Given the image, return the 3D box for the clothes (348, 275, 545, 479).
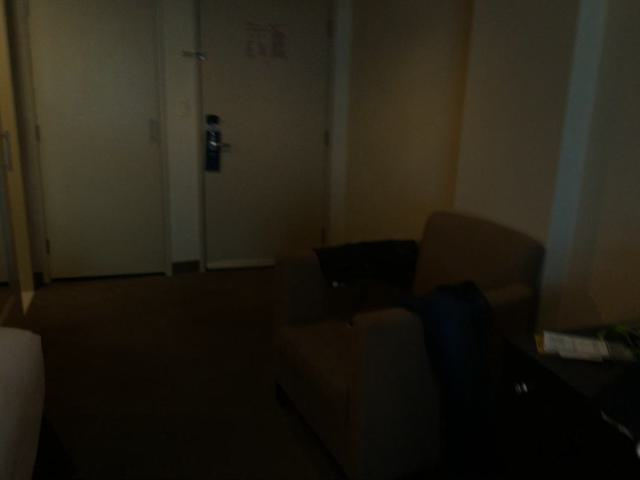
[{"bbox_3d":[0.390,0.530,1.920,0.490,0.730,0.330,-3,15,-15],"label":"clothes"}]
